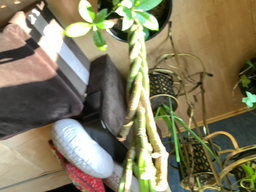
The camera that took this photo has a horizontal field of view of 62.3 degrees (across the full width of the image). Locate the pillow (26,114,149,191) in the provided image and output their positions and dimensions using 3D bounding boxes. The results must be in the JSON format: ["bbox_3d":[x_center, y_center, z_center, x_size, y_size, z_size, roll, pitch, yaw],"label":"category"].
[{"bbox_3d":[-0.170,0.430,1.340,0.260,0.530,0.860,-18,166,17],"label":"pillow"}]
